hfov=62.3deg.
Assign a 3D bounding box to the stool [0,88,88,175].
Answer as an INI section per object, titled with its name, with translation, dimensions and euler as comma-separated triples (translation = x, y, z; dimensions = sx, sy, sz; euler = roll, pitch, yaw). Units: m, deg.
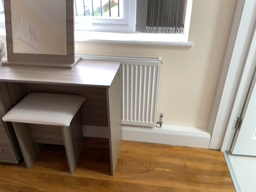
[stool]
translation = -0.590, 0.260, 1.610
dimensions = 0.450, 0.510, 0.350
euler = 4, 29, 6
